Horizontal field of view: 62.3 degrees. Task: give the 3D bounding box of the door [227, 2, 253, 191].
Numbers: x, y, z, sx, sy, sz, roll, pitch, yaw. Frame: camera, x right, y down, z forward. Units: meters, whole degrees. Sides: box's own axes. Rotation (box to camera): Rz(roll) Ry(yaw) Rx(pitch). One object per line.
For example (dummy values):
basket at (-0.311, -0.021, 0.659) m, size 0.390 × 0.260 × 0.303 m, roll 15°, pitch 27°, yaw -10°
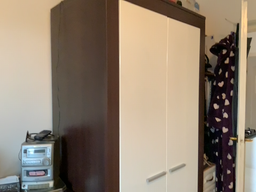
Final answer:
door at (0.890, 0.430, 1.720) m, size 0.110 × 2.050 × 0.770 m, roll 2°, pitch 3°, yaw 27°
